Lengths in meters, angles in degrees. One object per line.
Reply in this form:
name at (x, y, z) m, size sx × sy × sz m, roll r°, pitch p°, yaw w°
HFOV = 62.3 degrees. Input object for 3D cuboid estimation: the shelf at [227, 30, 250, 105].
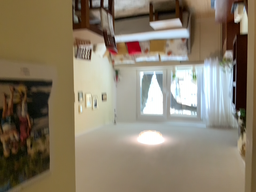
shelf at (1.110, -0.270, 2.160) m, size 0.170 × 0.680 × 0.410 m, roll 1°, pitch -177°, yaw 24°

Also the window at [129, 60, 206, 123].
window at (0.950, -0.120, 5.400) m, size 1.930 × 1.470 × 0.170 m, roll 1°, pitch -177°, yaw 22°
